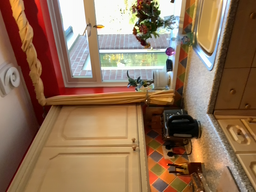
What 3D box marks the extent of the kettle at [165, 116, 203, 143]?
[{"bbox_3d":[0.410,0.250,1.590,0.150,0.230,0.130,-91,0,-59],"label":"kettle"}]
